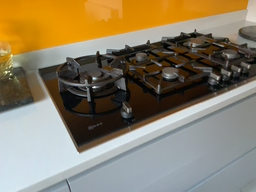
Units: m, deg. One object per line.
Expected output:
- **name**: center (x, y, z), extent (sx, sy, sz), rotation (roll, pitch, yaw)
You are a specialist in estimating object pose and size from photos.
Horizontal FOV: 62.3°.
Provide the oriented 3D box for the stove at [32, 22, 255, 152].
- **stove**: center (0.130, -0.160, 0.900), extent (0.910, 0.060, 0.600), rotation (-19, 36, -25)
